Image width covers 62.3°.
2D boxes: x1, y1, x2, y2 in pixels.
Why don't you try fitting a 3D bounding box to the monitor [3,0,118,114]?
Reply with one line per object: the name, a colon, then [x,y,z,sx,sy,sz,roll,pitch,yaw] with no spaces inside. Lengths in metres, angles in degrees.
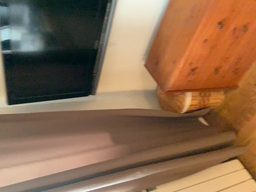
monitor: [-0.360,-0.260,1.150,0.060,0.510,0.860,57,141,37]
